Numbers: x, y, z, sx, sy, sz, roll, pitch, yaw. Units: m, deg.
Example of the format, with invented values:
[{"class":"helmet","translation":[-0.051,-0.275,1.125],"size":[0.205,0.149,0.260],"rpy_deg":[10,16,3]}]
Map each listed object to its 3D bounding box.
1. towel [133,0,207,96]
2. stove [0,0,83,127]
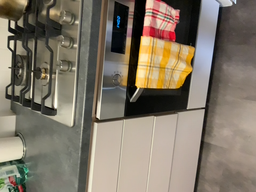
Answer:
[{"class":"towel","translation":[0.180,-0.190,0.820],"size":[0.070,0.380,0.370],"rpy_deg":[8,96,42]},{"class":"stove","translation":[-0.360,-0.260,0.800],"size":[0.560,0.040,0.630],"rpy_deg":[12,99,41]}]
